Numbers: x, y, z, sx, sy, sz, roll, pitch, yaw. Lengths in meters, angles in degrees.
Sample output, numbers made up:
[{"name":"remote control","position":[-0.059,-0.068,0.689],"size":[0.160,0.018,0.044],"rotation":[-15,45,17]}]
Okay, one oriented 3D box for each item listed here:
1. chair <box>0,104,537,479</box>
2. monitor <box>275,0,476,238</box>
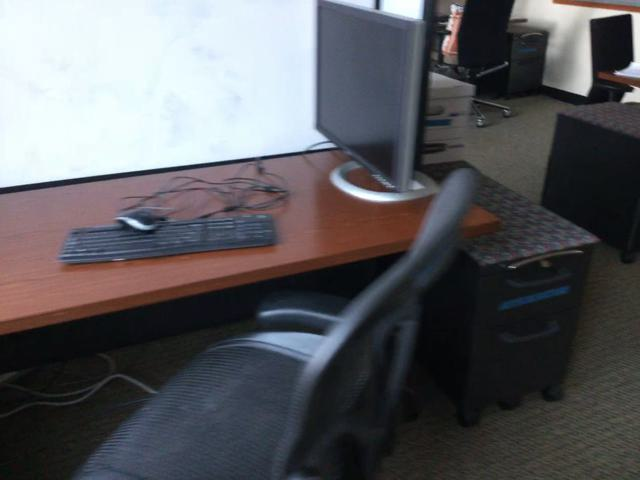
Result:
[{"name":"chair","position":[-0.060,0.370,1.040],"size":[0.690,0.990,0.710],"rotation":[0,31,12]},{"name":"monitor","position":[0.120,-0.360,1.490],"size":[0.250,0.450,0.590],"rotation":[-16,31,-14]}]
